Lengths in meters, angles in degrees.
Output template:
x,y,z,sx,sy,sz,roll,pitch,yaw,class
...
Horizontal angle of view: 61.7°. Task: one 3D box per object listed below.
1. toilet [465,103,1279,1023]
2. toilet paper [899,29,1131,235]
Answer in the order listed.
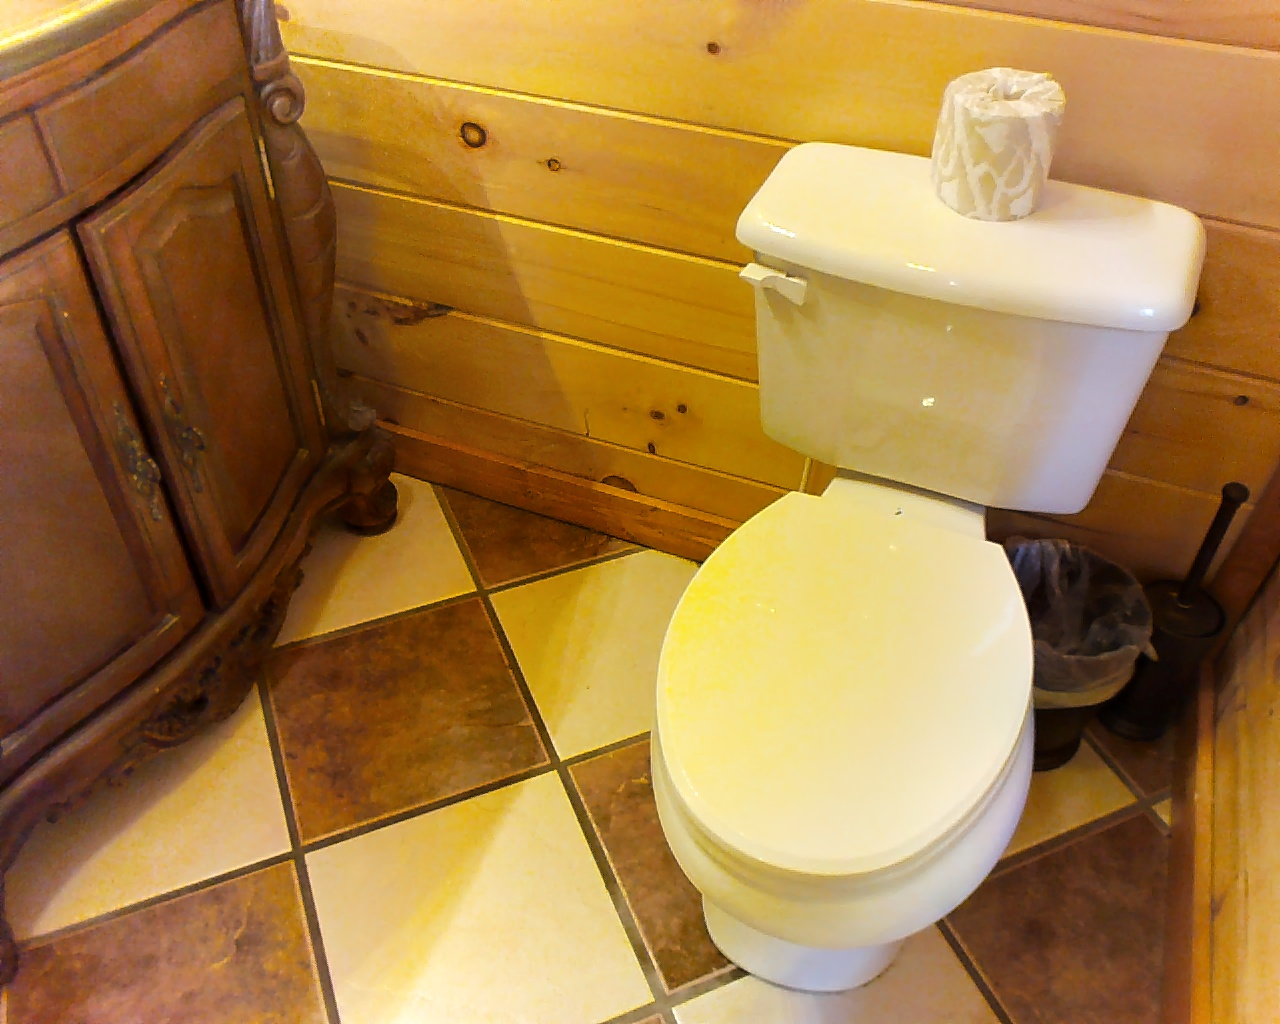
x,y,z,sx,sy,sz,roll,pitch,yaw,class
0.260,0.090,1.160,0.520,0.710,0.760,17,45,16,toilet
0.380,-0.390,1.090,0.170,0.120,0.160,19,45,18,toilet paper
